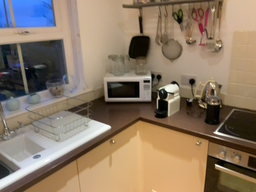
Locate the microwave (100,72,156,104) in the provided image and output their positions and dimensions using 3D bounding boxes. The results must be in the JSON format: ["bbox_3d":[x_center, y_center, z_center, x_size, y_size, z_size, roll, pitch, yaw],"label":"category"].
[{"bbox_3d":[0.010,-0.080,2.050,0.500,0.230,0.300,0,18,4],"label":"microwave"}]
